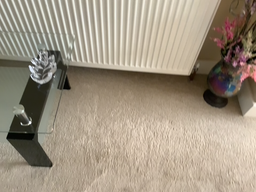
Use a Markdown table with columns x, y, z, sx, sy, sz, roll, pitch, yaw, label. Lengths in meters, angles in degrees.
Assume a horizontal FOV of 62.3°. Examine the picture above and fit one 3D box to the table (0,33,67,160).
| x | y | z | sx | sy | sz | roll | pitch | yaw | label |
| --- | --- | --- | --- | --- | --- | --- | --- | --- | --- |
| -0.750 | -0.010 | 1.100 | 0.690 | 0.370 | 0.530 | 4 | 54 | -1 | table |
